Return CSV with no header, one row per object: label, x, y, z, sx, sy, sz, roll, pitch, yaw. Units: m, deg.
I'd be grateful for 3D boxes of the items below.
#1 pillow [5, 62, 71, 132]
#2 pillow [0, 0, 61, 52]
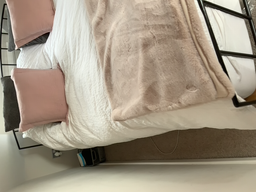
pillow,-0.700,0.010,1.710,0.180,0.430,0.470,-14,86,17
pillow,-0.840,-0.690,1.850,0.170,0.470,0.490,-16,86,11
